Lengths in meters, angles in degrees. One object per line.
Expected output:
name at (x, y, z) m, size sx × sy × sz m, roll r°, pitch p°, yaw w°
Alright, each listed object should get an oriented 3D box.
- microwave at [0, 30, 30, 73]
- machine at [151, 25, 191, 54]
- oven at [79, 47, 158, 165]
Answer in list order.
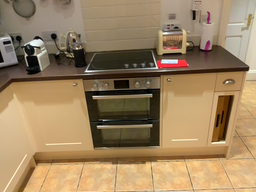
microwave at (-1.220, -0.400, 1.890) m, size 0.440 × 0.270 × 0.420 m, roll -2°, pitch 27°, yaw 2°
machine at (0.380, -0.520, 1.930) m, size 0.310 × 0.190 × 0.250 m, roll -2°, pitch 27°, yaw 2°
oven at (-0.050, 0.090, 2.090) m, size 0.600 × 0.980 × 0.590 m, roll -2°, pitch 27°, yaw 2°
